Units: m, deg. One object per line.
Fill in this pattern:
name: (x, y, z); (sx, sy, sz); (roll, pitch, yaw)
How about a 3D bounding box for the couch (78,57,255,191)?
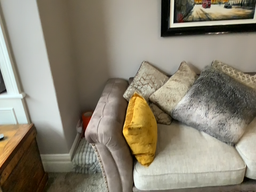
couch: (0.820, 0.230, 1.810); (2.130, 0.830, 1.070); (-1, 25, 4)
